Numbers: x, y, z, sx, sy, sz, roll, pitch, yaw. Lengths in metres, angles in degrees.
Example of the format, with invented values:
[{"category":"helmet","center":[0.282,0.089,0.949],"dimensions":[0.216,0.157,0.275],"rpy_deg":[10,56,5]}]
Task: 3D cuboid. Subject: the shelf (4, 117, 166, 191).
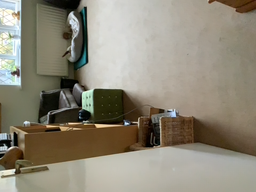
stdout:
[{"category":"shelf","center":[-0.580,0.450,2.130],"dimensions":[1.600,1.080,0.410],"rpy_deg":[-7,84,57]}]
